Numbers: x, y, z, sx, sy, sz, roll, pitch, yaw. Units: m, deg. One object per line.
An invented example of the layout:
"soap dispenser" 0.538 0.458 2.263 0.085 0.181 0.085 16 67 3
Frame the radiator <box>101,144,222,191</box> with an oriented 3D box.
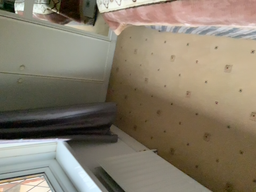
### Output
"radiator" 0.350 0.600 1.240 1.130 0.510 0.050 27 108 47
